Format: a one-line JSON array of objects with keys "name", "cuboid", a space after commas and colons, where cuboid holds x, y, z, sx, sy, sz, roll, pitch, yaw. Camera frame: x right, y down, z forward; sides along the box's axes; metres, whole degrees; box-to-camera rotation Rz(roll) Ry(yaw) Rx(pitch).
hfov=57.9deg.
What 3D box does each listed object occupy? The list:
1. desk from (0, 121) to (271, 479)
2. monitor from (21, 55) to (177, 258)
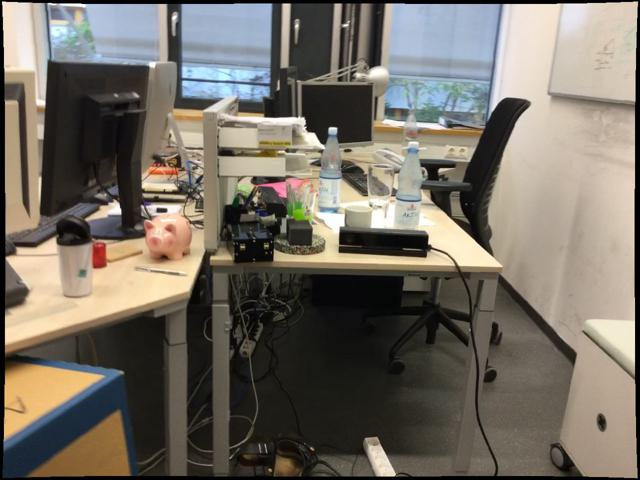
[{"name": "desk", "cuboid": [-0.839, 0.140, 2.200, 1.229, 0.801, 2.910, 2, 18, -4]}, {"name": "monitor", "cuboid": [-0.599, -0.290, 1.710, 0.220, 0.480, 0.680, 2, 18, -4]}]
